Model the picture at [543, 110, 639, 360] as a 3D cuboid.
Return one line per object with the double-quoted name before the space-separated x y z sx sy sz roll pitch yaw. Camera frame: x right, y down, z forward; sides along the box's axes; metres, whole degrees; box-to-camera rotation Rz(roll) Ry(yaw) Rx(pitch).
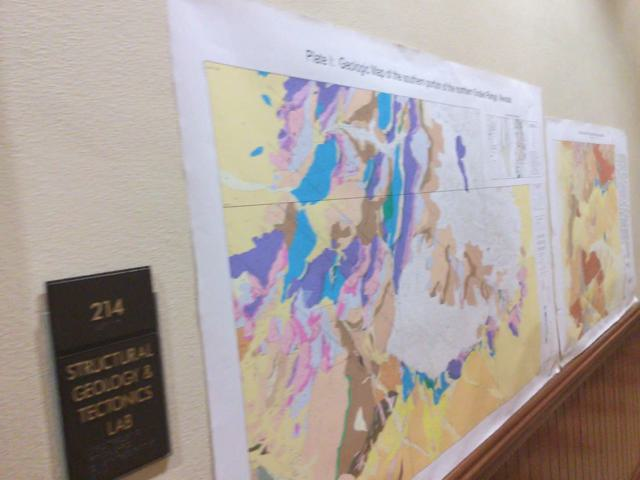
"picture" 1.040 -0.050 2.150 0.050 0.760 1.000 0 5 40
